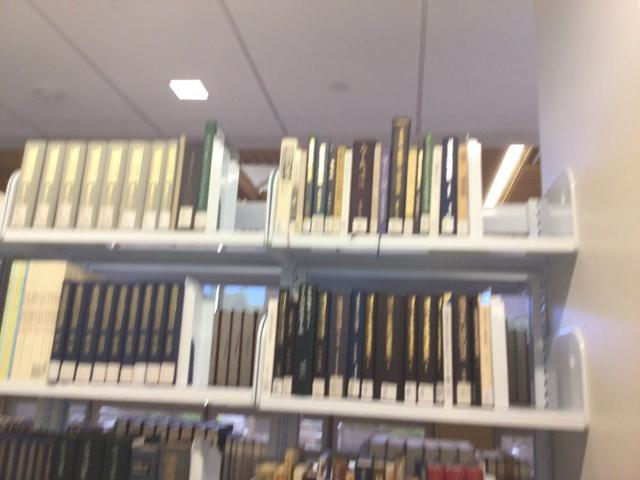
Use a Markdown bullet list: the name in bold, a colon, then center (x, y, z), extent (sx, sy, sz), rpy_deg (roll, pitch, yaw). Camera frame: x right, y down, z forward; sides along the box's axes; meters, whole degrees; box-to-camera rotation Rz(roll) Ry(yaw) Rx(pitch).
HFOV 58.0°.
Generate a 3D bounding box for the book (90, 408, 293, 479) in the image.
- **book**: center (-0.340, 0.620, 1.560), extent (0.490, 0.280, 0.180), rpy_deg (3, -15, 6)

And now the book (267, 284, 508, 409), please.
- **book**: center (0.130, 0.210, 1.140), extent (0.440, 0.210, 0.110), rpy_deg (2, -15, 5)

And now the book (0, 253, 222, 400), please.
- **book**: center (-0.460, 0.190, 1.250), extent (0.430, 0.270, 0.170), rpy_deg (3, -15, 6)
